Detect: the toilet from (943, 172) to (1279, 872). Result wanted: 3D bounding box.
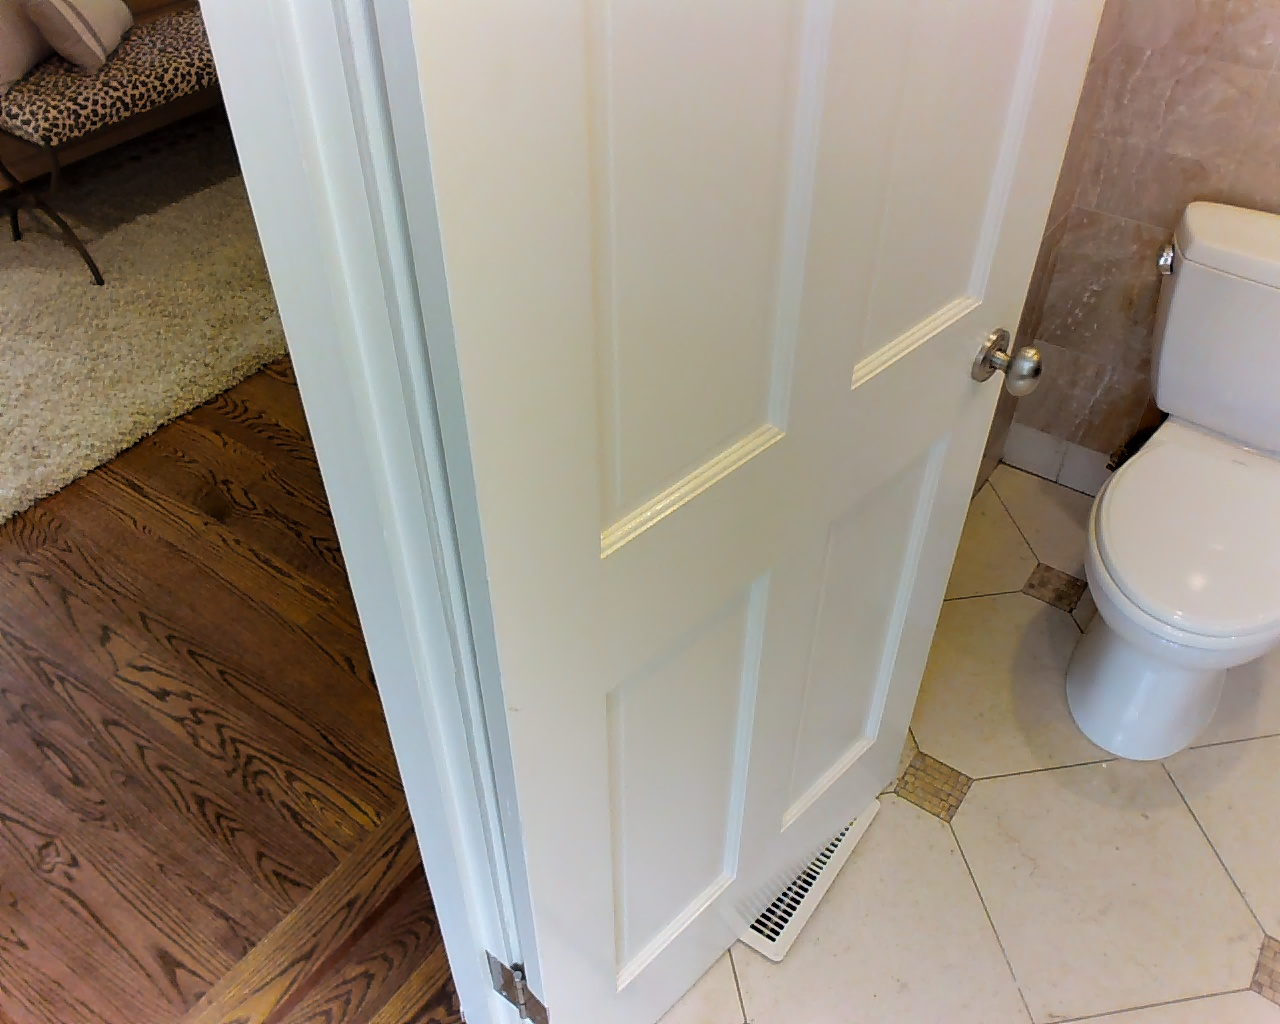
[{"bbox_3d":[0.980,-0.010,1.820,0.520,0.770,0.750,25,48,26],"label":"toilet"}]
